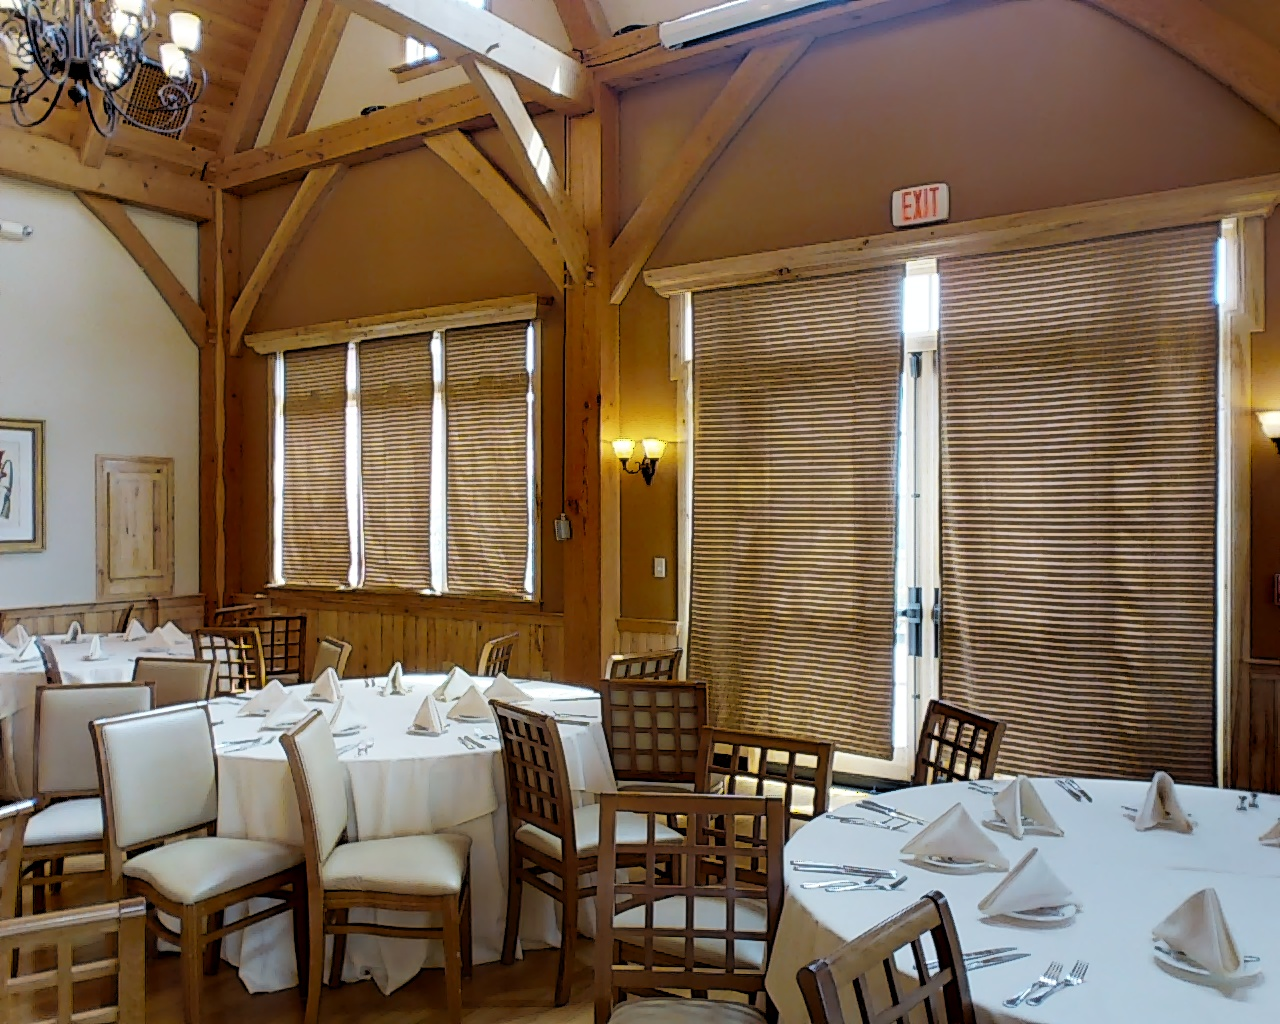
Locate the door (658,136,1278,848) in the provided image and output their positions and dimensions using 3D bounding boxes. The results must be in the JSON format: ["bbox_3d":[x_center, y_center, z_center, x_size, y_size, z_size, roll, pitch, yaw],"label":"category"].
[{"bbox_3d":[1.520,-0.090,5.720,3.230,3.140,0.230,0,0,34],"label":"door"}]
